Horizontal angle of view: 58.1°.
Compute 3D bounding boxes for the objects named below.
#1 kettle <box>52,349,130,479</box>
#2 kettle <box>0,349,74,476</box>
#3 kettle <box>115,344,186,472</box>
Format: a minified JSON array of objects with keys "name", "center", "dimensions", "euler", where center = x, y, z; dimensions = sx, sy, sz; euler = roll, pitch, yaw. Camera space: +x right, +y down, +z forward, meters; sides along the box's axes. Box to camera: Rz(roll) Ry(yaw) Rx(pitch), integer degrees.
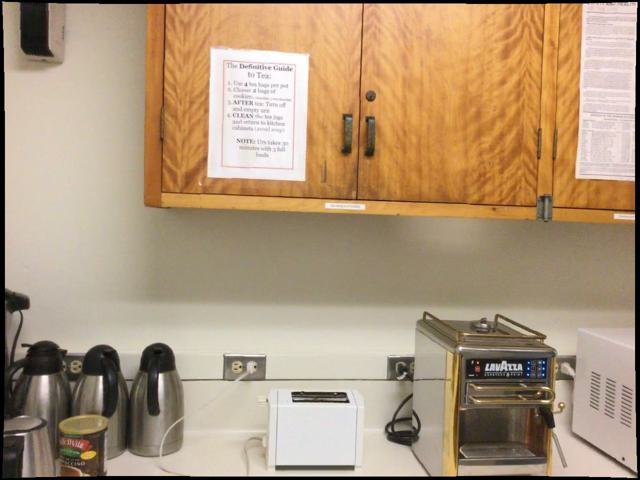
[{"name":"kettle","center":[-0.559,0.421,1.420],"dimensions":[0.140,0.271,0.140],"euler":[-1,3,-7]},{"name":"kettle","center":[-0.708,0.421,1.430],"dimensions":[0.140,0.271,0.130],"euler":[-1,3,-6]},{"name":"kettle","center":[-0.429,0.421,1.480],"dimensions":[0.140,0.261,0.190],"euler":[-1,3,-7]}]
